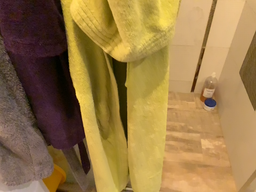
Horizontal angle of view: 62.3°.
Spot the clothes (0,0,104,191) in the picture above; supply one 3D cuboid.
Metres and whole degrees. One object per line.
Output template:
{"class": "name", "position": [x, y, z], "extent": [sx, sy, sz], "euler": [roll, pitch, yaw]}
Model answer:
{"class": "clothes", "position": [-0.300, -0.140, 0.500], "extent": [0.270, 1.850, 0.380], "euler": [3, 44, 4]}
